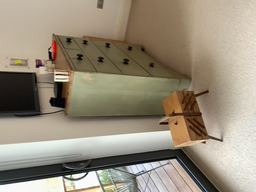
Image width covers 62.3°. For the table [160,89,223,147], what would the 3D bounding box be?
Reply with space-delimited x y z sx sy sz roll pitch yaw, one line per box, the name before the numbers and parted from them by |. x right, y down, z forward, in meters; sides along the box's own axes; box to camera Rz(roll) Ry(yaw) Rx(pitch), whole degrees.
table | 0.530 0.190 1.820 0.260 0.340 0.420 -41 54 56
